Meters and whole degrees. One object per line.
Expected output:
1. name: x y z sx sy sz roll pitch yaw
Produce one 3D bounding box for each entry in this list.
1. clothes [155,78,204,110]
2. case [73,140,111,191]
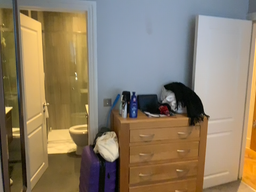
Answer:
1. clothes: 0.490 -0.040 2.110 0.290 0.250 0.440 -2 9 -13
2. case: -0.340 0.780 1.970 0.300 0.600 0.440 -2 9 -13
